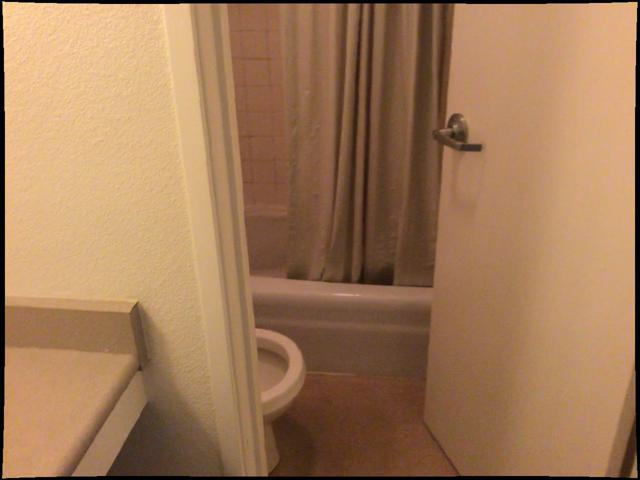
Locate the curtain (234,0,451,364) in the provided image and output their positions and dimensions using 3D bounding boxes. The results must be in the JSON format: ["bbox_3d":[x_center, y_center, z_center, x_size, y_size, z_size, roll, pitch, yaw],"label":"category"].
[{"bbox_3d":[0.110,-0.231,1.960,0.598,1.413,0.270,0,28,9],"label":"curtain"}]

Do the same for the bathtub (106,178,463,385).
[{"bbox_3d":[-0.080,0.120,2.390,1.227,0.481,0.780,0,28,9],"label":"bathtub"}]
